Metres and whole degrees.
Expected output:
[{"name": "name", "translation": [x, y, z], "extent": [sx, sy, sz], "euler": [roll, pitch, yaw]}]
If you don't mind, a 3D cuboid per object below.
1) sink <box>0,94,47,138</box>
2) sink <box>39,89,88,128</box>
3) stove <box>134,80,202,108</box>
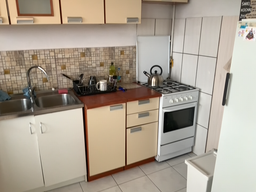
[{"name": "sink", "translation": [-1.010, 0.160, 1.940], "extent": [0.430, 0.190, 0.490], "euler": [-8, 20, -25]}, {"name": "sink", "translation": [-0.650, 0.100, 2.100], "extent": [0.370, 0.190, 0.490], "euler": [-8, 20, -25]}, {"name": "stove", "translation": [0.460, -0.050, 2.550], "extent": [0.550, 0.120, 0.600], "euler": [-8, 20, -25]}]
